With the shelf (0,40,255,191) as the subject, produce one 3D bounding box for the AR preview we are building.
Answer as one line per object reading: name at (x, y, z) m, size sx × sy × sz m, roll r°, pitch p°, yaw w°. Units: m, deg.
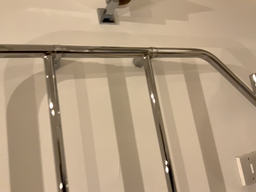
shelf at (0.120, 0.180, 0.560) m, size 0.020 × 1.070 × 0.670 m, roll 151°, pitch 111°, yaw -63°
